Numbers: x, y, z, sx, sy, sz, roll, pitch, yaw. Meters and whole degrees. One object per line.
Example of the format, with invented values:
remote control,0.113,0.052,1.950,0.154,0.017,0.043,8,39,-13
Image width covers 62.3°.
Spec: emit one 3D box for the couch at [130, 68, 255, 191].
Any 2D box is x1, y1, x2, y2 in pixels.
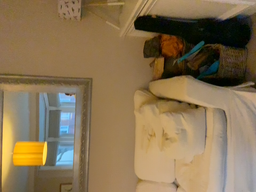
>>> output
couch,0.480,0.900,1.960,0.960,0.750,2.160,-176,88,-80
